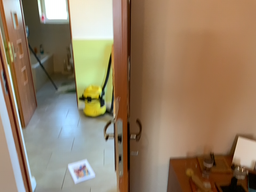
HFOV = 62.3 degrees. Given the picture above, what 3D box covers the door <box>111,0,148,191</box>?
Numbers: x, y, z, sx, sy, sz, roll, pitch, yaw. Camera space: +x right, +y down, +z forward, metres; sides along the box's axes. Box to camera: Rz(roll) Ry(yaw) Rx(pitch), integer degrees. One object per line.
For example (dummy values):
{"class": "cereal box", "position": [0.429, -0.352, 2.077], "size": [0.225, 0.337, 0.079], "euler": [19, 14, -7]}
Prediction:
{"class": "door", "position": [-0.030, 0.120, 1.140], "size": [0.100, 2.090, 0.790], "euler": [-1, 21, -4]}
